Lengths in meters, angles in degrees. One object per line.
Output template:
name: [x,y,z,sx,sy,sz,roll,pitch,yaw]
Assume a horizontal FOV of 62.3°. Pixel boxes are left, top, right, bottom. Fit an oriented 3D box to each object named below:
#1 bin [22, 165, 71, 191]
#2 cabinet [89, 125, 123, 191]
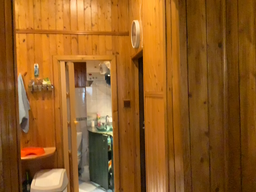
bin: [-0.940,1.220,2.510,0.490,0.690,0.250,-2,2,-8]
cabinet: [-0.410,1.020,3.750,0.500,0.850,0.930,-2,2,-9]
